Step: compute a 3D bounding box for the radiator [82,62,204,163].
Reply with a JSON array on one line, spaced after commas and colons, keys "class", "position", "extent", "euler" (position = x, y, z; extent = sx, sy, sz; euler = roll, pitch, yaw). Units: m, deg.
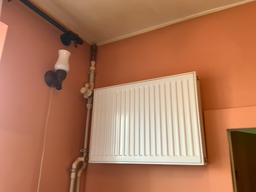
[{"class": "radiator", "position": [0.060, 0.130, 1.330], "extent": [0.730, 0.540, 0.130], "euler": [-8, -20, 28]}]
